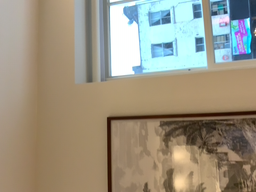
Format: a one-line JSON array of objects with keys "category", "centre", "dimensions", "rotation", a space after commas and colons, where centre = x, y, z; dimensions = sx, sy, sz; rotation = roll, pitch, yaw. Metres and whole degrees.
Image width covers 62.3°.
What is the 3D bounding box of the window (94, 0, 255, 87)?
[{"category": "window", "centre": [0.420, -0.640, 1.260], "dimensions": [0.070, 1.320, 1.070], "rotation": [21, -114, -74]}]
